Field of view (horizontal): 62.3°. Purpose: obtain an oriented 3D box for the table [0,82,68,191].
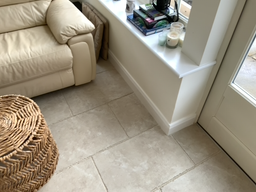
[{"bbox_3d":[-0.690,0.290,1.280,0.450,0.460,0.450,-19,50,-18],"label":"table"}]
